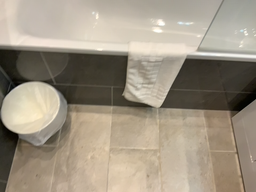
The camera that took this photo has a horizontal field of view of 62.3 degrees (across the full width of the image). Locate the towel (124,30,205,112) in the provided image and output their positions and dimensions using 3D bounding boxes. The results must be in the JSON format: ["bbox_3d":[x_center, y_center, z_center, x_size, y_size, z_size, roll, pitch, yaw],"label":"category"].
[{"bbox_3d":[0.140,-0.090,1.090,0.300,0.510,0.150,2,63,-3],"label":"towel"}]
